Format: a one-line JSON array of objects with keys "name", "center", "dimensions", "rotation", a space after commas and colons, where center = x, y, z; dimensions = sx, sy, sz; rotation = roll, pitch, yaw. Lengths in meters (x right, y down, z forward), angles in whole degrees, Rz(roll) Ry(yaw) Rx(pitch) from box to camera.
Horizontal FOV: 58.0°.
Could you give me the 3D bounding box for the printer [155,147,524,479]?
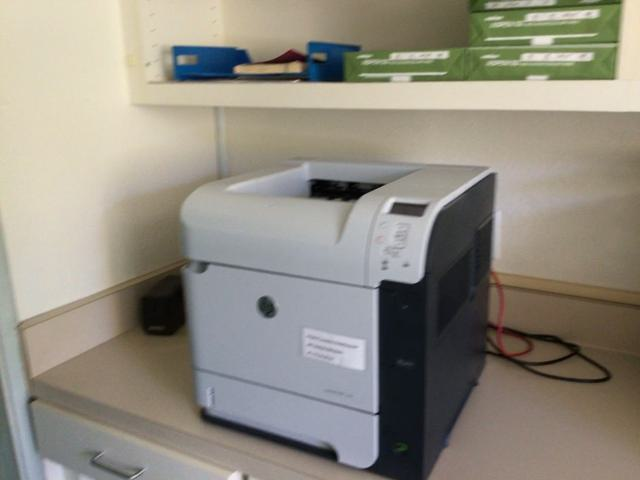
[{"name": "printer", "center": [0.070, 0.070, 1.070], "dimensions": [0.440, 0.410, 0.550], "rotation": [9, 17, 29]}]
